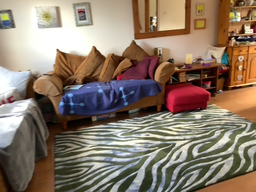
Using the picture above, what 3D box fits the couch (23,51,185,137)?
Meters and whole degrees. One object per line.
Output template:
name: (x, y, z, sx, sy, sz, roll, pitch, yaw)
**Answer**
couch: (-0.320, -0.150, 3.250, 2.060, 0.790, 1.020, -9, 18, -15)
